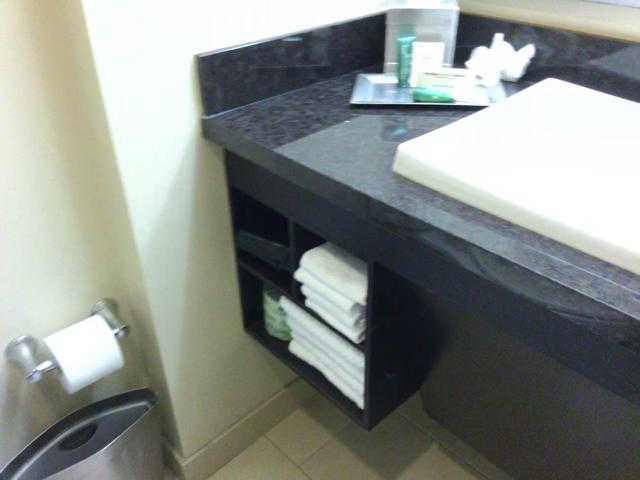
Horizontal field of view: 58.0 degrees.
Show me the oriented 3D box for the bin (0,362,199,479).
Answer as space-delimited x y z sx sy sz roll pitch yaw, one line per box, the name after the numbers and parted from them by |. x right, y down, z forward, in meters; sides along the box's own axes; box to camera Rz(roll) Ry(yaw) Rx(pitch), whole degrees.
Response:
-0.470 0.510 1.240 0.350 0.320 0.170 -29 41 -34 | bin

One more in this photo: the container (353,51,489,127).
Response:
0.180 -0.280 1.050 0.160 0.060 0.180 -29 41 -34 | container

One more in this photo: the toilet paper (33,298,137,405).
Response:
-0.450 0.210 1.110 0.120 0.110 0.130 -29 41 -34 | toilet paper

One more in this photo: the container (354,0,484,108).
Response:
0.190 -0.410 1.120 0.190 0.230 0.160 -29 41 -34 | container
